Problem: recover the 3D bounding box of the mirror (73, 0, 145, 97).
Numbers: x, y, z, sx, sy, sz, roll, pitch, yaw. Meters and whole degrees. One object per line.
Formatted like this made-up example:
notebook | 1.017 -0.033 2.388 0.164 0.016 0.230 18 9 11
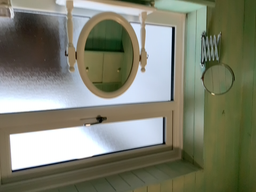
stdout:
mirror | -0.100 -0.240 1.170 0.360 0.460 0.140 -3 -174 -26
